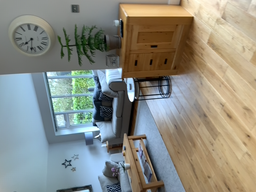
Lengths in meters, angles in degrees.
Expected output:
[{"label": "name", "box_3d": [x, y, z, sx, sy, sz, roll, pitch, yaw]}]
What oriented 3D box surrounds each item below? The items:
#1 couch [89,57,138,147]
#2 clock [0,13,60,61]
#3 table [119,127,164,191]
[{"label": "couch", "box_3d": [-0.470, 0.220, 5.620, 0.990, 0.960, 2.240, -109, 20, -45]}, {"label": "clock", "box_3d": [-1.100, -0.670, 2.450, 0.540, 0.550, 0.090, 99, 160, -44]}, {"label": "table", "box_3d": [0.200, 1.360, 4.250, 1.270, 0.470, 0.680, -110, 21, -46]}]
